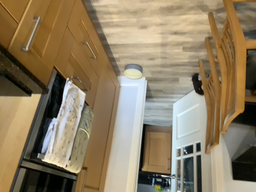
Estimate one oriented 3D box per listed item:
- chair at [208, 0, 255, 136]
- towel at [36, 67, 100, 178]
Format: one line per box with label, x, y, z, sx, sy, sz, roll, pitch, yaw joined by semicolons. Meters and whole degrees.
chair;0.750;-0.280;1.200;0.460;0.930;0.390;2;154;12
towel;-0.320;0.180;1.290;0.070;0.550;0.450;2;154;12
